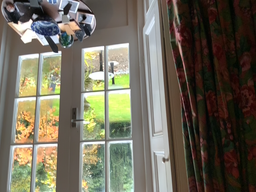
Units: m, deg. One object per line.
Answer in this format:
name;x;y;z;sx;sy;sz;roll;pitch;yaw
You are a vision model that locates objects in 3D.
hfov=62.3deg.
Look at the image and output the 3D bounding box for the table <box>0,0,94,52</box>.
table;-0.650;-0.770;1.610;0.630;0.640;0.490;-5;167;12
